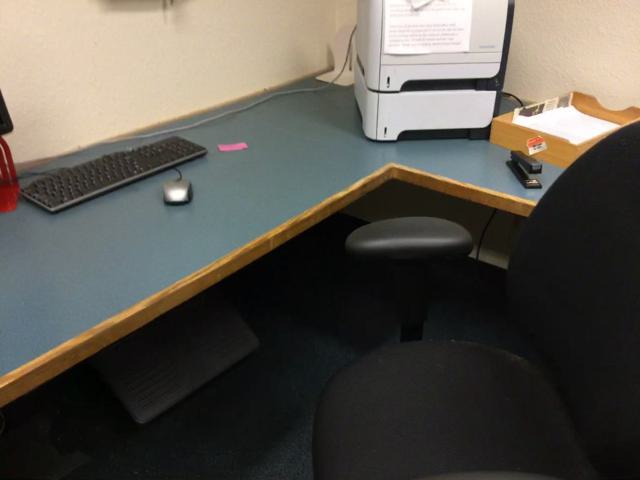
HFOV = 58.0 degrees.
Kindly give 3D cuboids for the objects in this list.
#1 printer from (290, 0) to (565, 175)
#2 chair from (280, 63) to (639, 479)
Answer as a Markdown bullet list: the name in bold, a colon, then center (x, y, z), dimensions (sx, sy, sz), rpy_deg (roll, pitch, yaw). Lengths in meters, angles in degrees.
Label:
- **printer**: center (0.290, -0.530, 1.650), dimensions (0.570, 0.410, 0.460), rpy_deg (25, 37, 30)
- **chair**: center (0.240, 0.310, 1.000), dimensions (0.580, 1.060, 0.680), rpy_deg (-2, 29, -4)
